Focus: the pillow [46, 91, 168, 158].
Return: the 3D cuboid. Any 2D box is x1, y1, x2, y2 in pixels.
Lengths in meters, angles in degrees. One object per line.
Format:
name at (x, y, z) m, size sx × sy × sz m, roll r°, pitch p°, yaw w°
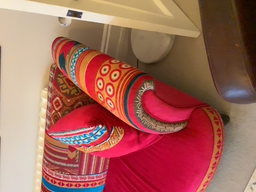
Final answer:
pillow at (-0.110, 0.200, 1.200) m, size 0.510 × 0.420 × 0.180 m, roll -18°, pitch 58°, yaw 32°
